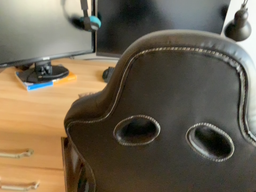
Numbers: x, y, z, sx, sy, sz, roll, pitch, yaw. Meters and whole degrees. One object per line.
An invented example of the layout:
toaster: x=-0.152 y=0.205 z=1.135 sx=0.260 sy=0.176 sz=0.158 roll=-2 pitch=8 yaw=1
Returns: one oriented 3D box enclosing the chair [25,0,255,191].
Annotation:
chair: x=0.170 y=0.250 z=0.920 sx=0.700 sy=1.150 sz=0.700 roll=11 pitch=31 yaw=7
